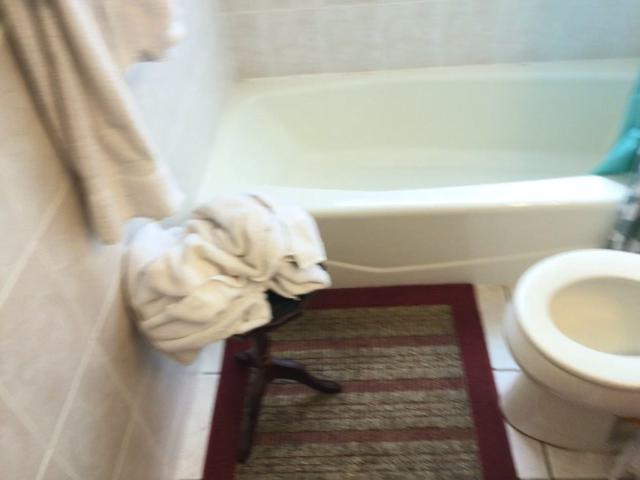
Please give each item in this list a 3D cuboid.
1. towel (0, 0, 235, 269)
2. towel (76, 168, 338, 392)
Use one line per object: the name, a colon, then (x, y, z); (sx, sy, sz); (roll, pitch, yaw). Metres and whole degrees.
towel: (-0.330, -0.430, 0.830); (0.180, 0.880, 0.480); (0, 46, 6)
towel: (-0.180, 0.080, 1.150); (0.400, 0.320, 0.300); (0, 46, 6)
